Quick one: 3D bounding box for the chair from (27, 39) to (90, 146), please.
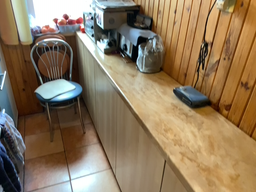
[{"bbox_3d":[-0.690,-0.070,2.110,0.430,0.780,0.690,-10,33,-21],"label":"chair"}]
